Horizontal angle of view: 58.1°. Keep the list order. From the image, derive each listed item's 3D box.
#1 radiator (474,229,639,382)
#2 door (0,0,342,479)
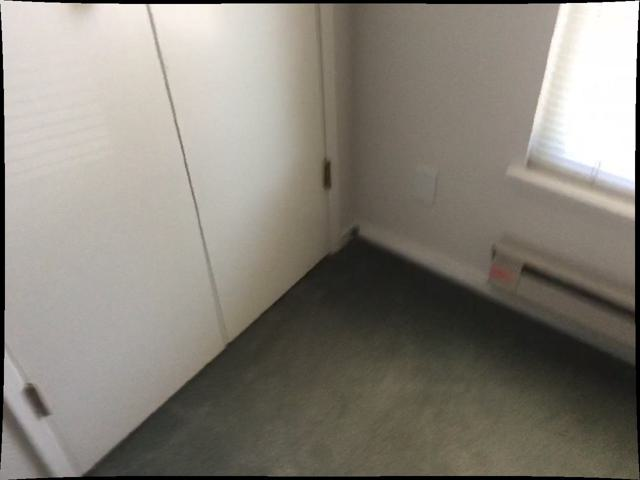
[{"bbox_3d":[0.839,0.260,1.370,0.949,0.230,0.070,26,50,26],"label":"radiator"},{"bbox_3d":[-0.290,-0.511,0.900,0.080,2.072,1.030,26,50,26],"label":"door"}]
